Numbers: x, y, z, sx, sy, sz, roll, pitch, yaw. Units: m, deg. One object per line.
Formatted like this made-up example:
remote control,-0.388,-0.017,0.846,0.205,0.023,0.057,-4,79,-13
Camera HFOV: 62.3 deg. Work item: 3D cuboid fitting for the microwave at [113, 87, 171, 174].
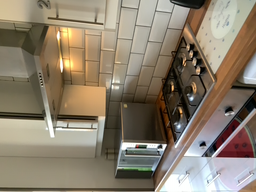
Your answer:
microwave,0.070,0.300,1.740,0.560,0.330,0.460,103,168,-46
